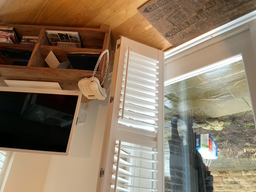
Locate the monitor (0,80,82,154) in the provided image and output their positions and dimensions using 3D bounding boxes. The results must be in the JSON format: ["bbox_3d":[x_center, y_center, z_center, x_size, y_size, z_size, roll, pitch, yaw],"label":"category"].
[{"bbox_3d":[-0.710,0.120,1.440,0.710,0.470,0.040,4,153,2],"label":"monitor"}]
